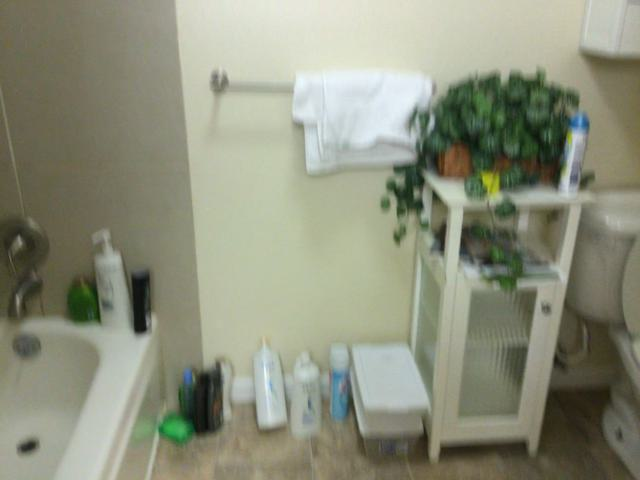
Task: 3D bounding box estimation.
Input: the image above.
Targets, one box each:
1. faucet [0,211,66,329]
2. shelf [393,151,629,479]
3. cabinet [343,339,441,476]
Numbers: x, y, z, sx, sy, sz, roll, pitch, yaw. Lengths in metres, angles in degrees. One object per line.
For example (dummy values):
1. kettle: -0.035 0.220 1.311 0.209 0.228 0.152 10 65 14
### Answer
1. faucet: -0.920 0.090 1.770 0.180 0.330 0.140 -1 21 -3
2. shelf: 0.510 0.230 1.770 0.450 0.910 0.470 -1 21 -3
3. cabinet: 0.220 0.540 1.920 0.250 0.250 0.380 -1 21 -3
